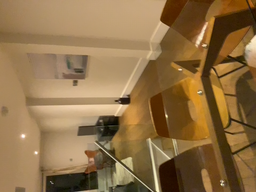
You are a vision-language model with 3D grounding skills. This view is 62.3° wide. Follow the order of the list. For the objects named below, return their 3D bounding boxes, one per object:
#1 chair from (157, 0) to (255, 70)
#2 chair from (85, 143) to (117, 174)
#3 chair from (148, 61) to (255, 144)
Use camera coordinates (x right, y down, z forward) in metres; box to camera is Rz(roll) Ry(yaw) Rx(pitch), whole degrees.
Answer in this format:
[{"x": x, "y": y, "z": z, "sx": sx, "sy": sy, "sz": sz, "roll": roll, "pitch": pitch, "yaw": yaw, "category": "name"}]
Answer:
[{"x": 0.680, "y": -0.510, "z": 1.430, "sx": 0.460, "sy": 0.770, "sz": 0.460, "roll": 114, "pitch": 151, "yaw": -55, "category": "chair"}, {"x": -0.910, "y": 2.060, "z": 7.000, "sx": 0.780, "sy": 0.900, "sz": 0.770, "roll": 119, "pitch": 147, "yaw": -60, "category": "chair"}, {"x": 0.620, "y": 0.070, "z": 1.660, "sx": 0.440, "sy": 0.770, "sz": 0.500, "roll": 129, "pitch": 138, "yaw": -66, "category": "chair"}]
